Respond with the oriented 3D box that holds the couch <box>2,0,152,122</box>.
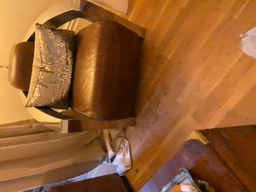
[{"bbox_3d":[-0.380,-0.190,1.500,0.770,0.690,0.600,8,92,47],"label":"couch"}]
